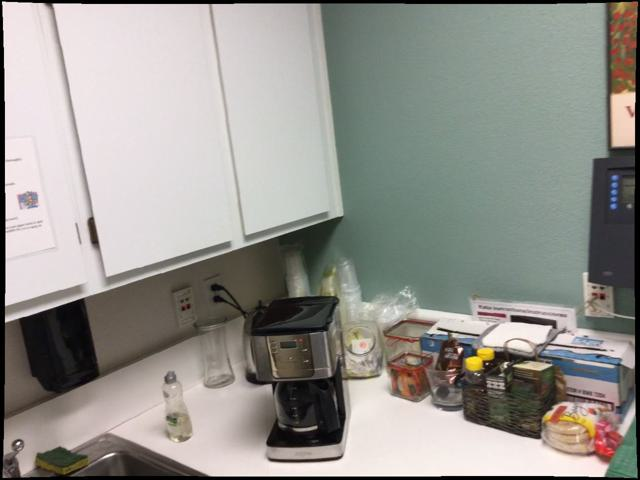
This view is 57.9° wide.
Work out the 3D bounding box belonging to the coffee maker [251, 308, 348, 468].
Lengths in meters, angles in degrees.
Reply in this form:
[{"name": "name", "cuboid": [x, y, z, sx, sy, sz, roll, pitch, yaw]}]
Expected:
[{"name": "coffee maker", "cuboid": [-0.040, 0.330, 1.320, 0.160, 0.320, 0.140, -2, 13, 14]}]
